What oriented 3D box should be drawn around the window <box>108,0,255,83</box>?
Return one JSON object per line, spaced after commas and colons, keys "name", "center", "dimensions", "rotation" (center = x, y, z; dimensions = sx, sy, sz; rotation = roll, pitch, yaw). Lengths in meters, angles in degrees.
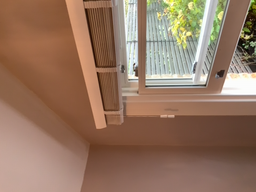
{"name": "window", "center": [0.410, -0.390, 1.010], "dimensions": [0.080, 0.990, 0.800], "rotation": [-86, -5, -45]}
